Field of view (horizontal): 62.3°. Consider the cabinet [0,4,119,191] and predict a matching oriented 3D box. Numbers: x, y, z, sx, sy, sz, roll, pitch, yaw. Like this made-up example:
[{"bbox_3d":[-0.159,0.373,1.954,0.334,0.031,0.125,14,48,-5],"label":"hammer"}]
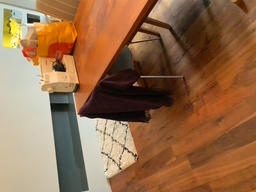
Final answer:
[{"bbox_3d":[-1.130,0.420,3.100,0.320,1.470,4.740,-51,47,43],"label":"cabinet"}]
